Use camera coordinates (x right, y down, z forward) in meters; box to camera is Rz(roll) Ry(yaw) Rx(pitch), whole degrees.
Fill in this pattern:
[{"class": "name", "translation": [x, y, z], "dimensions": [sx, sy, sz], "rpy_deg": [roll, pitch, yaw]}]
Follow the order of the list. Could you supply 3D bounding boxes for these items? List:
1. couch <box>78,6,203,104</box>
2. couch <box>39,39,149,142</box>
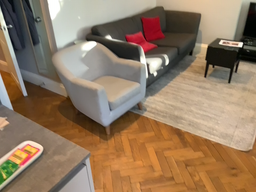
[{"class": "couch", "translation": [0.340, -0.840, 3.420], "dimensions": [0.990, 0.780, 2.060], "rpy_deg": [18, 37, 28]}, {"class": "couch", "translation": [-0.330, -0.130, 2.370], "dimensions": [0.830, 0.700, 0.750], "rpy_deg": [20, 38, 30]}]
